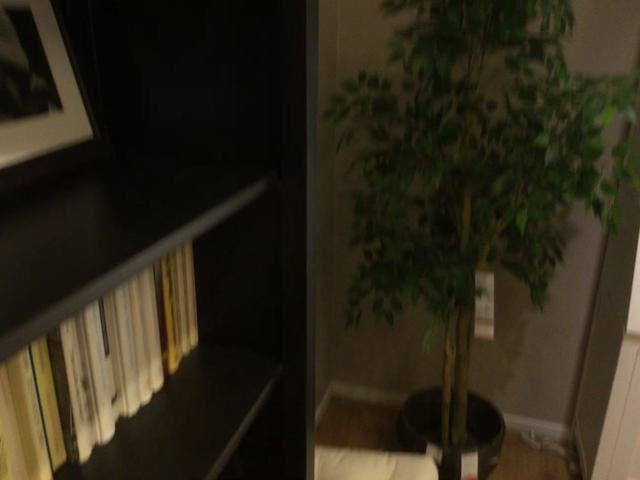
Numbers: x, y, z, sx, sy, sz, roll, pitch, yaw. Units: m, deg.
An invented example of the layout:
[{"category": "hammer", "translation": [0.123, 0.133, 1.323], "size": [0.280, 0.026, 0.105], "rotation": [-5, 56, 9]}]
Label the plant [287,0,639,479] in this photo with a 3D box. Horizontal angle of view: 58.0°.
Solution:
[{"category": "plant", "translation": [0.440, 0.070, 1.710], "size": [0.740, 1.620, 0.730], "rotation": [3, 19, 20]}]
